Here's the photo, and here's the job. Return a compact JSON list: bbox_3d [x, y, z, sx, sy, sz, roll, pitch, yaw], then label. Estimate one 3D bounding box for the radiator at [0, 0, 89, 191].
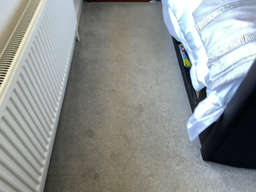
[{"bbox_3d":[-0.380,-0.140,0.960,0.120,0.590,1.390,2,51,1],"label":"radiator"}]
